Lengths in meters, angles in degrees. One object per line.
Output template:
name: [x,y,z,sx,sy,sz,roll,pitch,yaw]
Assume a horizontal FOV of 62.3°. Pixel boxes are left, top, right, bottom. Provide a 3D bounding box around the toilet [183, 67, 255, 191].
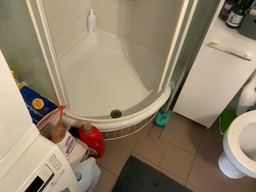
toilet: [0.820,0.170,1.250,0.650,0.800,0.420,-27,60,-23]
